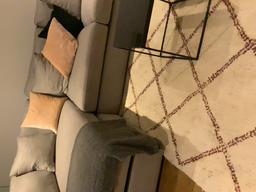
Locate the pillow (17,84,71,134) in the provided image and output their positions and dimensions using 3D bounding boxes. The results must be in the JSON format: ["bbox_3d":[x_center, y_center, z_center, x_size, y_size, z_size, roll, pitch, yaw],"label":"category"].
[{"bbox_3d":[-0.920,0.140,2.340,0.370,0.400,0.210,-56,26,-8],"label":"pillow"}]

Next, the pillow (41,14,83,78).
[{"bbox_3d":[-0.690,-0.500,2.160,0.420,0.300,0.430,-59,37,38],"label":"pillow"}]

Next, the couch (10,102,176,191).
[{"bbox_3d":[-0.370,0.760,1.620,0.800,0.920,1.200,26,107,60],"label":"couch"}]

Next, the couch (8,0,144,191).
[{"bbox_3d":[-0.640,-0.300,2.310,1.090,0.930,3.010,26,108,60],"label":"couch"}]
